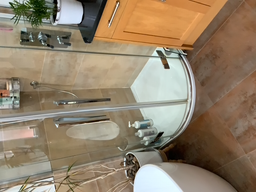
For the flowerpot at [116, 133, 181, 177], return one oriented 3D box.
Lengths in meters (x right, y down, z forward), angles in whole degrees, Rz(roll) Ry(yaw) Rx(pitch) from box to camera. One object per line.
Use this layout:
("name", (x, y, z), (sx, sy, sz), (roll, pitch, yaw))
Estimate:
("flowerpot", (0.200, 0.560, 2.060), (0.240, 0.530, 0.240), (-56, 48, 42))
